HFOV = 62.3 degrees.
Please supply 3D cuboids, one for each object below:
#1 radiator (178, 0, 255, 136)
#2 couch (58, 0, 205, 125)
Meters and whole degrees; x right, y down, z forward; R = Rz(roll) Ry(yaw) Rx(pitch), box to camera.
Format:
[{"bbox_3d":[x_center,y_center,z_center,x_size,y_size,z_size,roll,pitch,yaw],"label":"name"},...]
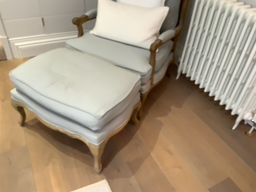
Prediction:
[{"bbox_3d":[0.770,-0.250,1.630,0.160,0.750,0.800,-14,43,-22],"label":"radiator"},{"bbox_3d":[0.070,-0.510,1.820,0.760,0.900,0.940,24,44,22],"label":"couch"}]
